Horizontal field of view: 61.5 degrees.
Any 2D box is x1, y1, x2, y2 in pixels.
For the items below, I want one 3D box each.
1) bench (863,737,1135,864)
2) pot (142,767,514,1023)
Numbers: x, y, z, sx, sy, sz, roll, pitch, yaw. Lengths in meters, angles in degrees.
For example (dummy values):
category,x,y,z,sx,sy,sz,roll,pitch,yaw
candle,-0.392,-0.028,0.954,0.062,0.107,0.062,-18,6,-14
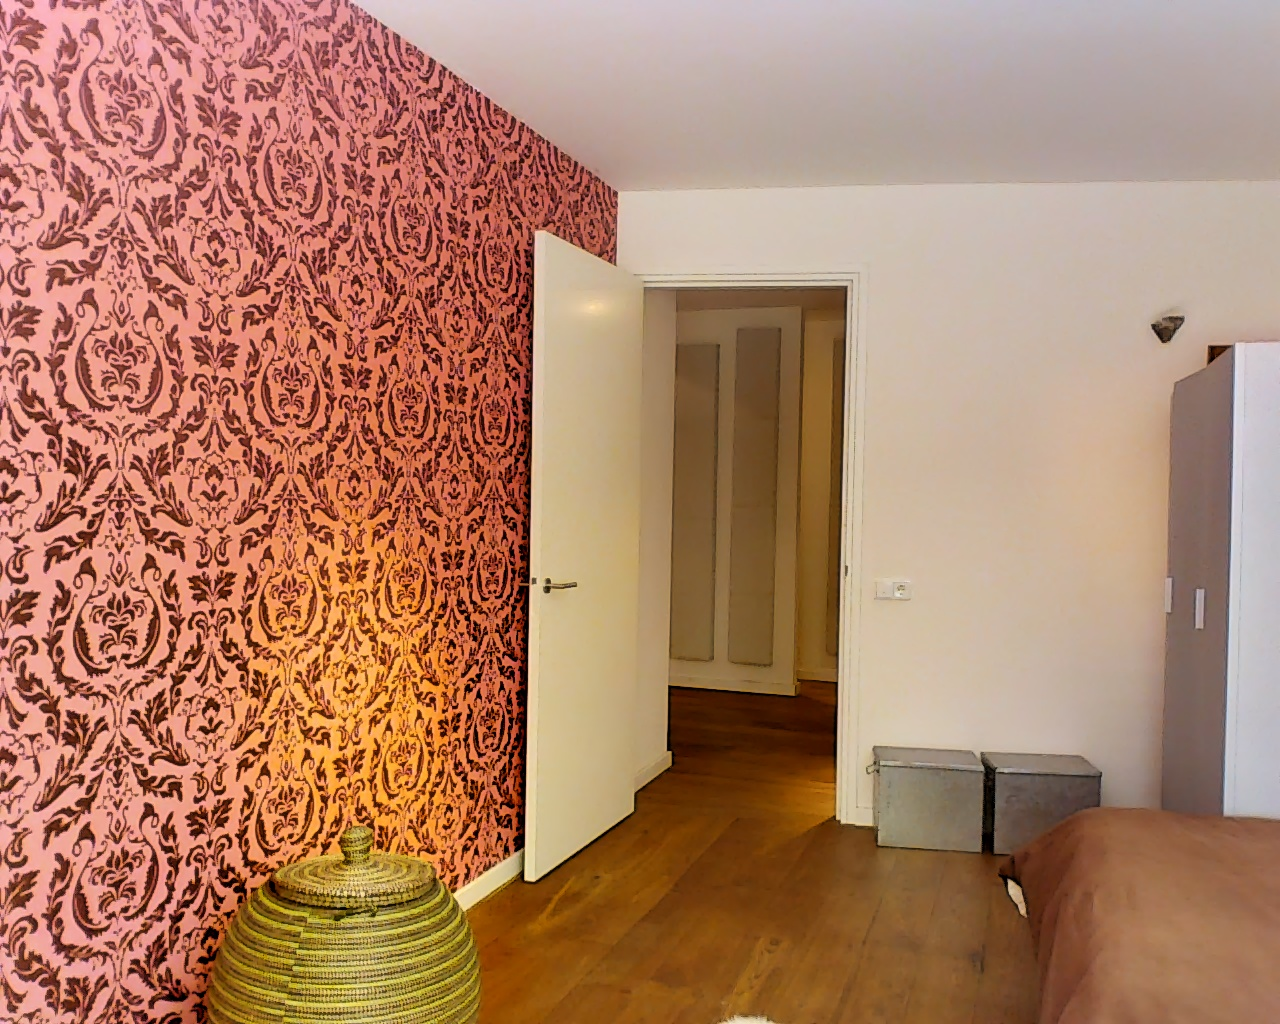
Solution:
category,x,y,z,sx,sy,sz,roll,pitch,yaw
bench,1.420,1.150,4.340,0.990,0.370,0.310,1,1,7
pot,-0.630,0.980,2.350,0.640,0.680,0.620,1,1,-2
